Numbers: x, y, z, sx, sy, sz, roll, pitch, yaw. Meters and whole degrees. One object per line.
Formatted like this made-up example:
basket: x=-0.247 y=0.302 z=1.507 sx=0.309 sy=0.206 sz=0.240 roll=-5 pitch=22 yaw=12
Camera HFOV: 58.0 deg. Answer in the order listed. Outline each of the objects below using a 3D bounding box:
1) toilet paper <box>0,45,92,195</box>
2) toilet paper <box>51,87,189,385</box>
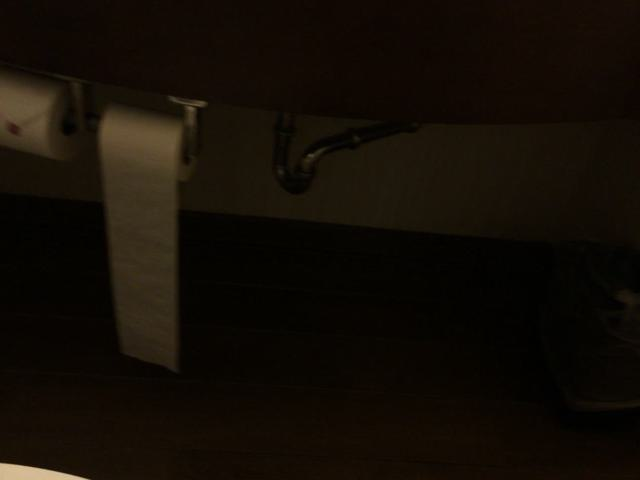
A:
toilet paper: x=-0.400 y=-0.160 z=0.770 sx=0.150 sy=0.170 sz=0.080 roll=4 pitch=34 yaw=-7
toilet paper: x=-0.280 y=0.020 z=0.870 sx=0.150 sy=0.470 sz=0.090 roll=4 pitch=34 yaw=-7
